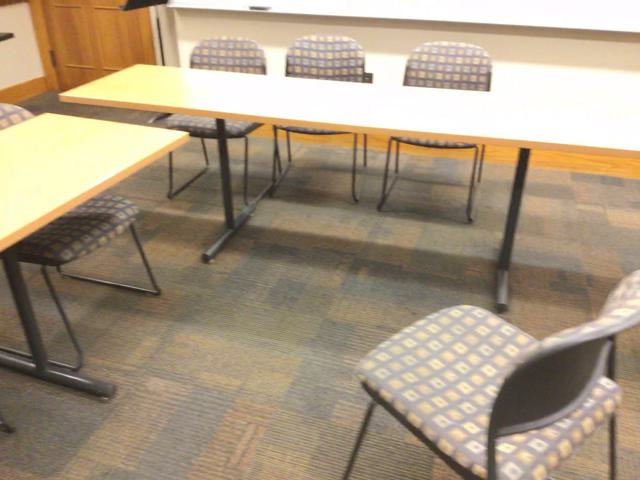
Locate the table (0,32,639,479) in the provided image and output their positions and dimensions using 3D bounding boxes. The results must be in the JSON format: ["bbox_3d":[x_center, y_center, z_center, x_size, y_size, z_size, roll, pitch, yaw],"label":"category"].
[{"bbox_3d":[0.340,0.550,0.840,4.540,0.870,3.940,9,29,16],"label":"table"}]
